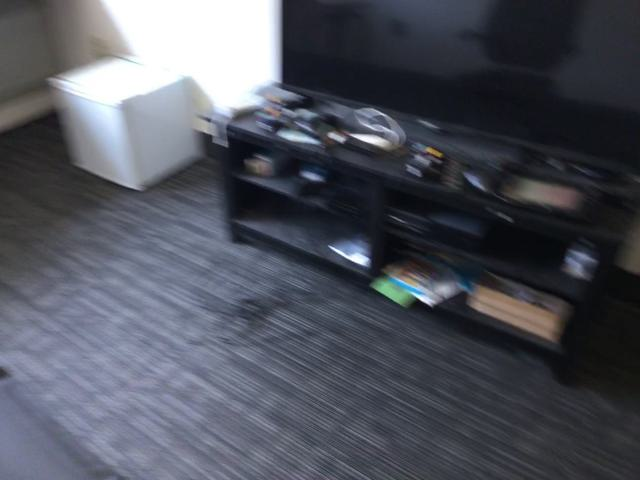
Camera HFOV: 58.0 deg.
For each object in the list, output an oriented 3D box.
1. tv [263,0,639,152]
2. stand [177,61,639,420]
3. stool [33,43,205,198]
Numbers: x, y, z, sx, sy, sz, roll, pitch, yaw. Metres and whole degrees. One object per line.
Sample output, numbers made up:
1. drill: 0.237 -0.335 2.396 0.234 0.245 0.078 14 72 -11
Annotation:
1. tv: 0.350 -0.660 1.610 1.240 0.700 0.140 14 38 35
2. stand: 0.280 -0.110 1.990 1.480 0.680 0.530 19 41 31
3. stool: -0.940 -0.590 2.770 0.500 0.520 0.460 19 41 31
